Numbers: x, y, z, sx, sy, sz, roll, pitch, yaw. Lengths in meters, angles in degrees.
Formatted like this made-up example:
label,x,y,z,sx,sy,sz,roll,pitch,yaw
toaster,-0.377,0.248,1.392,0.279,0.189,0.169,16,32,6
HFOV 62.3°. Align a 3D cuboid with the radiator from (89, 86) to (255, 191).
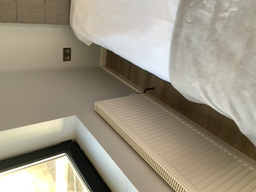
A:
label,x,y,z,sx,sy,sz,roll,pitch,yaw
radiator,0.310,0.260,1.390,1.250,0.610,0.100,35,126,44
